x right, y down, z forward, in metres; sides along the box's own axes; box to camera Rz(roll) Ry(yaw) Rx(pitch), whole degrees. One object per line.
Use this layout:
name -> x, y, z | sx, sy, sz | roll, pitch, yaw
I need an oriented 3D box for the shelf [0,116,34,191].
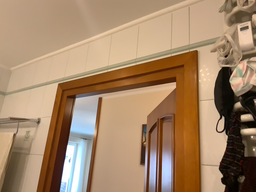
shelf -> -1.000, 0.620, 1.490 | 0.540, 0.890, 0.220 | -9, -22, 37
